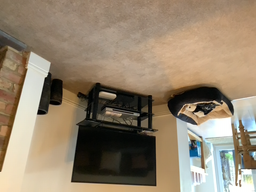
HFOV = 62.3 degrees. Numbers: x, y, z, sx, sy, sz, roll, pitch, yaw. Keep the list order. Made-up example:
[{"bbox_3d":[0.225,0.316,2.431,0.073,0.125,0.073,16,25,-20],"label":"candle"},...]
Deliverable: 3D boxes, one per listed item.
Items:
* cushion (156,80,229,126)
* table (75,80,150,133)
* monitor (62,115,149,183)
[{"bbox_3d":[0.860,0.140,2.740,0.630,0.220,0.930,-13,153,32],"label":"cushion"},{"bbox_3d":[-0.190,0.160,2.630,0.780,0.410,0.470,12,155,-24],"label":"table"},{"bbox_3d":[-0.190,0.600,2.340,0.950,0.630,0.080,14,155,-25],"label":"monitor"}]
